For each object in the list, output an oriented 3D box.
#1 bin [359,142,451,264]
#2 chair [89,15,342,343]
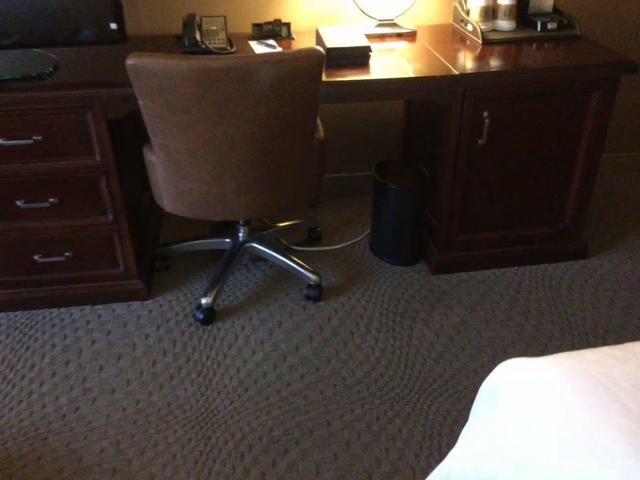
[{"bbox_3d":[0.310,-0.150,2.230,0.240,0.330,0.340,-6,33,-8],"label":"bin"},{"bbox_3d":[-0.300,-0.210,1.940,0.640,0.910,0.520,-6,33,-8],"label":"chair"}]
